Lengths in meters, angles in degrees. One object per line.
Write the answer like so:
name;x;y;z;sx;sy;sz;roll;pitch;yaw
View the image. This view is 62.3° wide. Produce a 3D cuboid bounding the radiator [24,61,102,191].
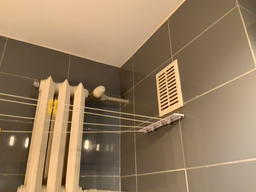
radiator;-0.320;0.170;1.090;0.290;0.620;0.220;10;-27;-24
